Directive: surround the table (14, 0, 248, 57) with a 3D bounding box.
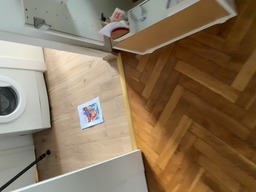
[{"bbox_3d":[0.040,-0.520,0.960,0.680,0.800,0.380,-15,81,39],"label":"table"}]
